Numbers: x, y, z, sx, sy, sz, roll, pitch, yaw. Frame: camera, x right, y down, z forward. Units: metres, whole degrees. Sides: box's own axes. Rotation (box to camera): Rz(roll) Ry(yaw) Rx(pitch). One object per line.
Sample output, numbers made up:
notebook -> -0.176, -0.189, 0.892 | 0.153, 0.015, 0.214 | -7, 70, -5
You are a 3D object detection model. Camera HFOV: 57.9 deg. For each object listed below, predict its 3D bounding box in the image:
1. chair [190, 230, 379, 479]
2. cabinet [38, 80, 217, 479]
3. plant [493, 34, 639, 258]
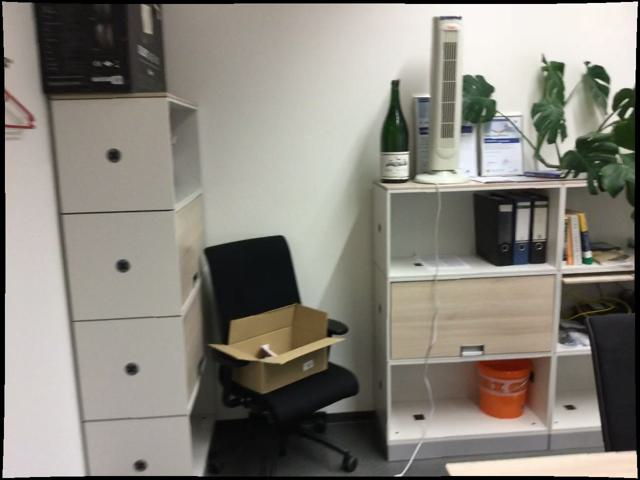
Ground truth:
chair -> -0.150, 0.521, 2.620 | 0.590, 0.991, 0.580 | -11, 16, -40
cabinet -> -0.709, 0.220, 2.430 | 0.400, 1.682, 0.910 | -2, 13, -6
plant -> 1.349, -0.460, 2.670 | 0.799, 0.891, 0.660 | -2, 17, -6
